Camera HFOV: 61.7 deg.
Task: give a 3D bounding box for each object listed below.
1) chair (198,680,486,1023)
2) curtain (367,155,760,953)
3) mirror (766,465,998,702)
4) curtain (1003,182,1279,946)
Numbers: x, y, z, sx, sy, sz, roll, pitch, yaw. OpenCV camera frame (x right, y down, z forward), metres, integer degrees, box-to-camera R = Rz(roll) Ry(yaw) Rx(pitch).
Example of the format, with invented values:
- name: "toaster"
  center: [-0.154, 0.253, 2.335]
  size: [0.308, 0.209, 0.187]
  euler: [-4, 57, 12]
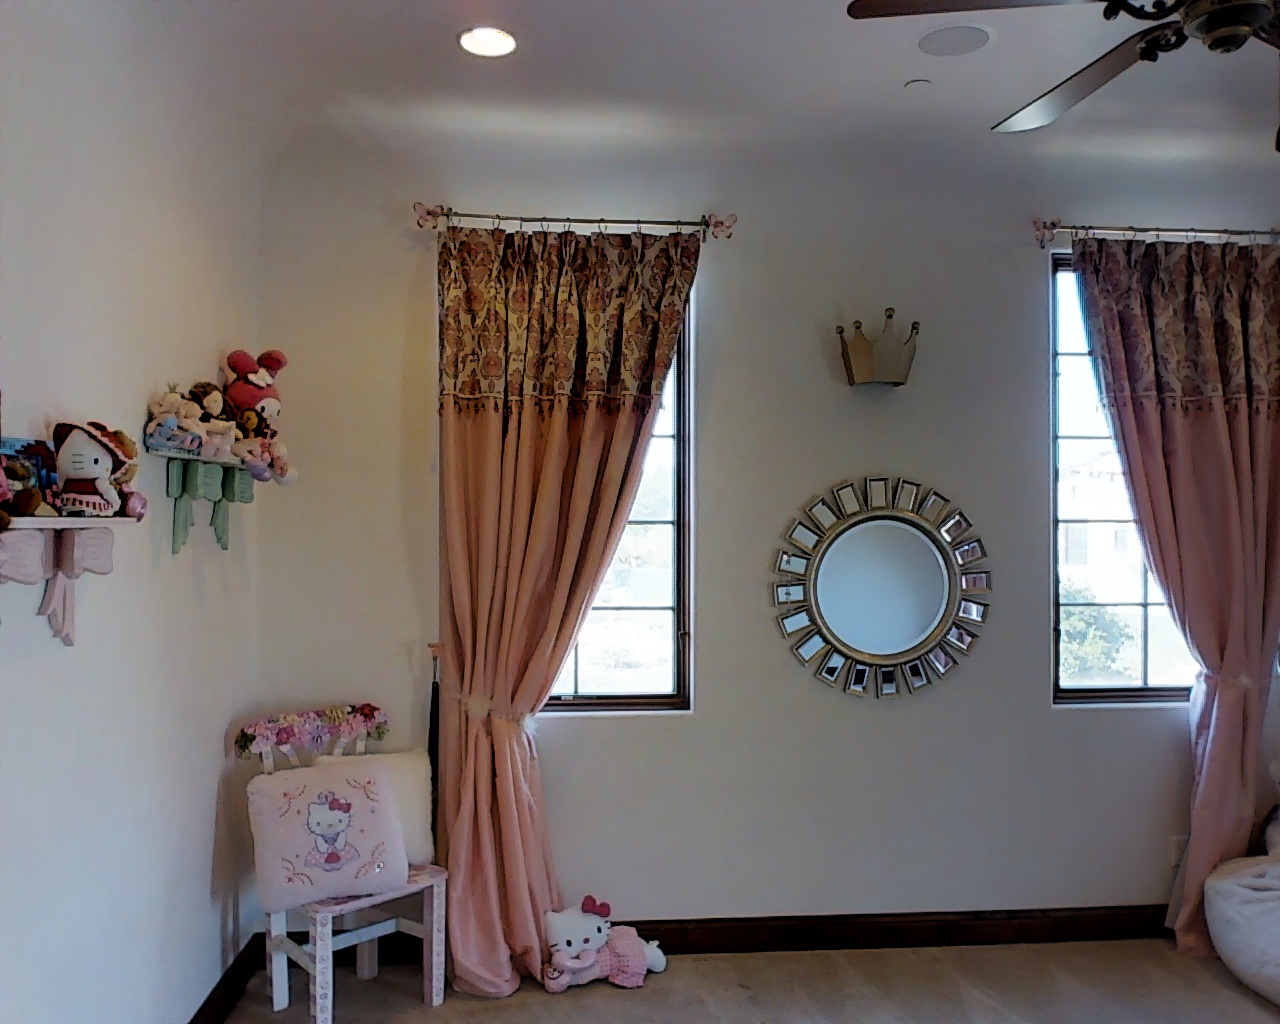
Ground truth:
- name: "chair"
  center: [-1.020, 1.130, 3.660]
  size: [0.730, 0.970, 0.660]
  euler: [0, -1, 44]
- name: "curtain"
  center: [-0.260, 0.140, 3.790]
  size: [1.320, 2.660, 0.320]
  euler: [0, -1, -5]
- name: "mirror"
  center: [0.930, 0.270, 4.100]
  size: [0.890, 0.890, 0.060]
  euler: [0, -1, -5]
- name: "curtain"
  center: [2.060, 0.190, 4.130]
  size: [1.220, 2.790, 0.330]
  euler: [0, -1, -5]
